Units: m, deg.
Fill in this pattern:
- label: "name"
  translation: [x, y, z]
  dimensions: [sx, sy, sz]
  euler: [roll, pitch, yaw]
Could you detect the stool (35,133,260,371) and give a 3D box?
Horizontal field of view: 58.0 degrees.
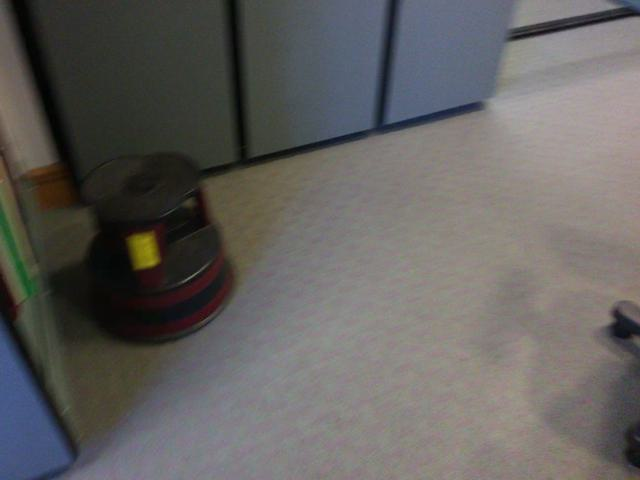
- label: "stool"
  translation: [-0.440, 0.020, 1.520]
  dimensions: [0.420, 0.380, 0.350]
  euler: [-20, 44, -18]
